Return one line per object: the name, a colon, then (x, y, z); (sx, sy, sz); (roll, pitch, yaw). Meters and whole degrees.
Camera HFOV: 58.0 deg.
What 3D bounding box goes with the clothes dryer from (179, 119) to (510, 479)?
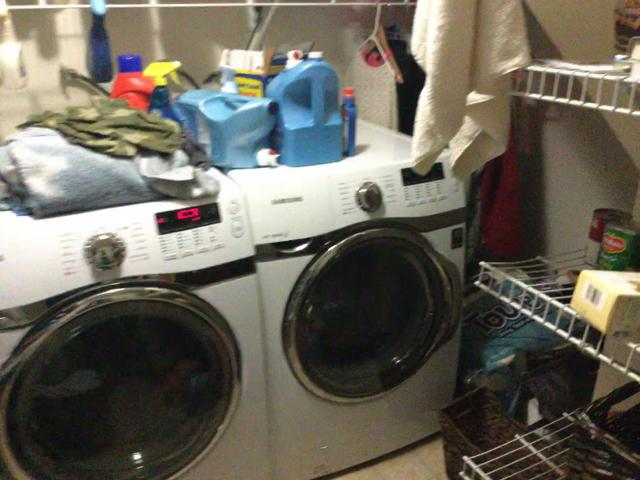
clothes dryer: (0.040, 0.170, 1.940); (0.760, 0.990, 0.700); (-11, 23, -27)
